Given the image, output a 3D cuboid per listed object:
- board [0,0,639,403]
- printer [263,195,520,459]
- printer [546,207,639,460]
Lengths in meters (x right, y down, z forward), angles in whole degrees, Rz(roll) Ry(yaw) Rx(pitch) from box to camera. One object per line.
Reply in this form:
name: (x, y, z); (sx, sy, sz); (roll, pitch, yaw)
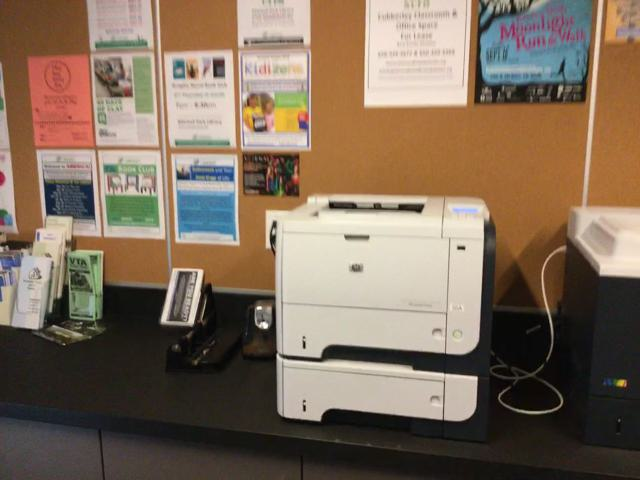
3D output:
board: (0.070, -0.480, 1.510); (2.870, 1.580, 0.290); (3, 8, 17)
printer: (0.200, 0.140, 1.390); (0.490, 0.450, 0.560); (3, 8, 17)
printer: (0.830, 0.170, 1.230); (0.590, 0.420, 0.530); (3, 8, 17)
